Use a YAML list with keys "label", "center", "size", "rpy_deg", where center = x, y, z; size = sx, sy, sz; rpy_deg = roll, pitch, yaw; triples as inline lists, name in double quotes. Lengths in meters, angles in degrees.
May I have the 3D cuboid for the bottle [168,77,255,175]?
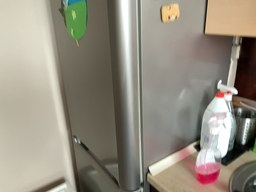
- label: "bottle"
  center: [0.340, 0.100, 0.870]
  size: [0.310, 0.280, 0.160]
  rpy_deg: [-16, 25, -34]
